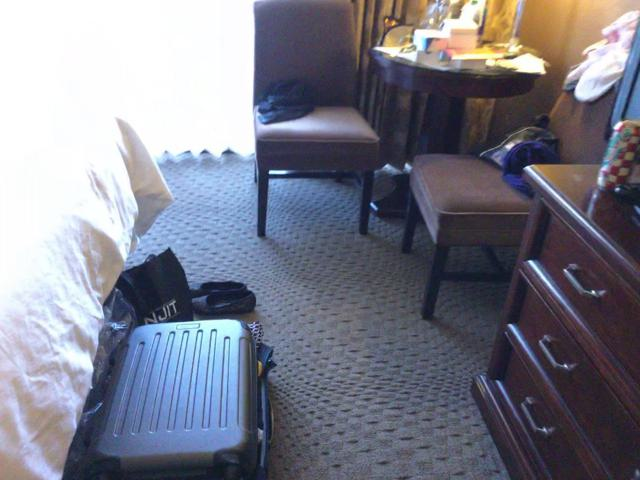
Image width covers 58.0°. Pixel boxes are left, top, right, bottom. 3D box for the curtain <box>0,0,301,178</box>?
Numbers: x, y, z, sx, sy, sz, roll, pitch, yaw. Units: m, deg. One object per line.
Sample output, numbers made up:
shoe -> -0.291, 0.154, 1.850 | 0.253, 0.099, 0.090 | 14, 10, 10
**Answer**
curtain -> -0.910, -1.290, 2.640 | 1.630, 2.000, 0.390 | -1, 31, -10
